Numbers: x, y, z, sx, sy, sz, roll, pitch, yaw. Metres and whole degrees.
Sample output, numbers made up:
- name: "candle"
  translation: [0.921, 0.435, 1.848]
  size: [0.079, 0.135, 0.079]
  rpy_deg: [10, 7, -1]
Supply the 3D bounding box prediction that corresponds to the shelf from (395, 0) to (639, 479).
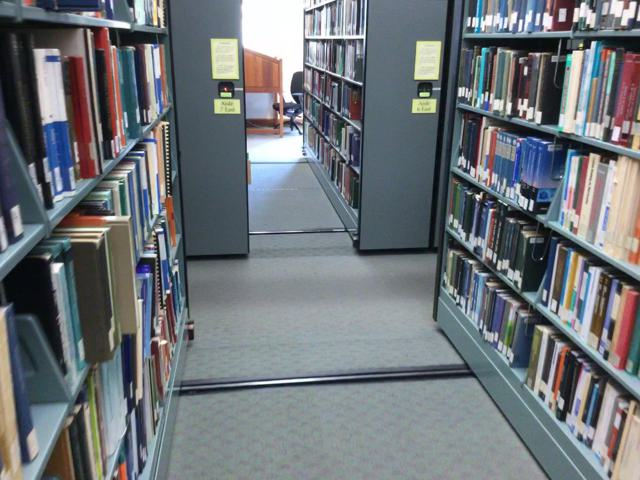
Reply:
- name: "shelf"
  translation: [1.080, -0.150, 0.990]
  size: [0.650, 2.700, 3.860]
  rpy_deg: [0, 14, -9]
